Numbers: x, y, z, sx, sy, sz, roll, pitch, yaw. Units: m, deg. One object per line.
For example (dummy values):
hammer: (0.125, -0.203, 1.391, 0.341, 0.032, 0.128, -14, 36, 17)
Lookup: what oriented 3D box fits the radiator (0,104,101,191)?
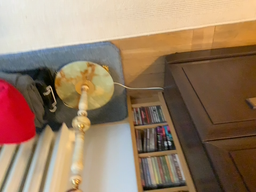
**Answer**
radiator: (-0.510, 0.350, 0.950, 0.740, 0.690, 0.190, -2, 129, -3)
